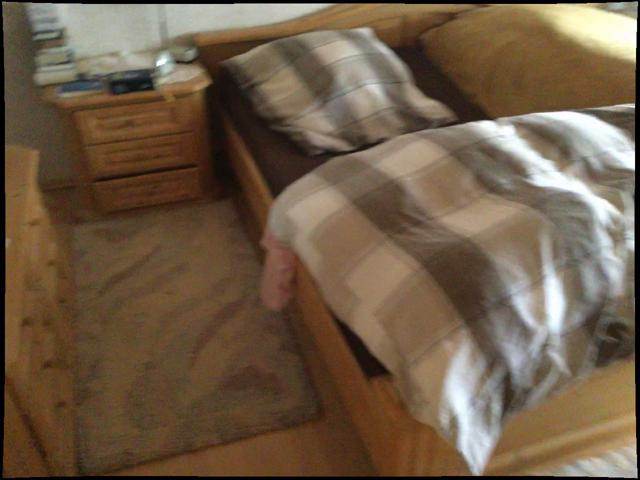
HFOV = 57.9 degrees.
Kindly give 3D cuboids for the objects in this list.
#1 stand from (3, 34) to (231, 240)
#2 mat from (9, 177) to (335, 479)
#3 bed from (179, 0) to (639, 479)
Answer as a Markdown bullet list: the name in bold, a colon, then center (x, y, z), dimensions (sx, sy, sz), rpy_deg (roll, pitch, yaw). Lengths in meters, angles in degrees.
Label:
- **stand**: center (-0.839, -0.460, 2.510), dimensions (0.749, 0.630, 0.460), rpy_deg (-12, 39, -14)
- **mat**: center (-0.579, 0.210, 2.080), dimensions (0.869, 0.090, 1.320), rpy_deg (-12, 39, -14)
- **bed**: center (0.889, -0.350, 2.190), dimensions (2.398, 0.801, 2.271), rpy_deg (-12, 39, -14)
